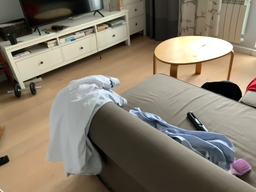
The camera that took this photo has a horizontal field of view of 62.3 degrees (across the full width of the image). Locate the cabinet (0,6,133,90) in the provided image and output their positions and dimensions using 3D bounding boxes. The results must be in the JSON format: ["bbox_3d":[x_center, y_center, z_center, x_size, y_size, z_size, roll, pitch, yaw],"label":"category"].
[{"bbox_3d":[-0.800,-0.790,3.060,1.830,0.560,0.540,-30,41,-31],"label":"cabinet"}]

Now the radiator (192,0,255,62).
[{"bbox_3d":[1.280,-0.950,2.820,0.160,0.810,0.800,-31,42,-33],"label":"radiator"}]
